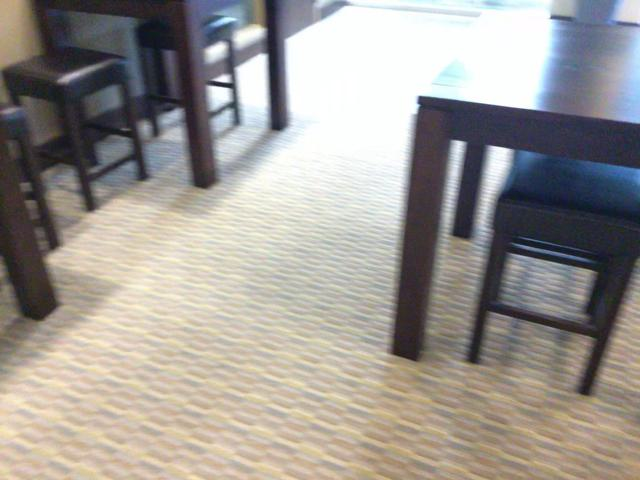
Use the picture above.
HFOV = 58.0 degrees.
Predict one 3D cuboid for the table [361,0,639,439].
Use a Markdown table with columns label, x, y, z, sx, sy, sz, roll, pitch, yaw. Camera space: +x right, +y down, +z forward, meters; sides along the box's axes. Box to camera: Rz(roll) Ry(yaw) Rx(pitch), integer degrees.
| label | x | y | z | sx | sy | sz | roll | pitch | yaw |
| --- | --- | --- | --- | --- | --- | --- | --- | --- | --- |
| table | 0.840 | -0.160 | 1.890 | 1.090 | 0.960 | 1.020 | 14 | 37 | 22 |
